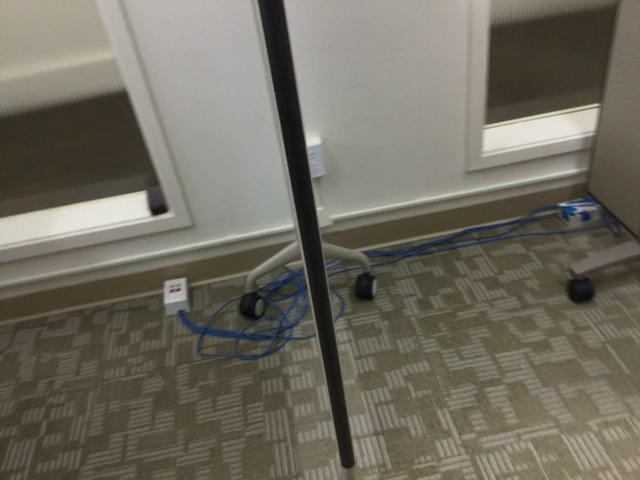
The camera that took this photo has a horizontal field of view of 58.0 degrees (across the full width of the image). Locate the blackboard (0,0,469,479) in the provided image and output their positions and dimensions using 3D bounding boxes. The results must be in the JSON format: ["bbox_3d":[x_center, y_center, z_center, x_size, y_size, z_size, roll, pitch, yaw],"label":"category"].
[{"bbox_3d":[-0.070,-0.150,1.080,0.400,1.400,0.880,-12,35,0],"label":"blackboard"}]

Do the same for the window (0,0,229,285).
[{"bbox_3d":[-0.760,-0.540,1.420,0.680,1.230,0.260,-17,29,2],"label":"window"}]
